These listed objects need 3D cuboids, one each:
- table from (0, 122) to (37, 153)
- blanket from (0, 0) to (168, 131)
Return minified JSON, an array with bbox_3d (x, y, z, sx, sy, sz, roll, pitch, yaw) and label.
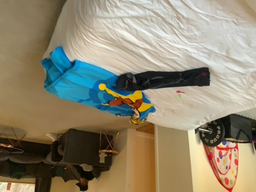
[{"bbox_3d":[-2.500,0.900,4.490,0.890,0.390,0.880,14,152,-24],"label":"table"},{"bbox_3d":[-0.270,-0.130,1.780,0.990,0.480,1.240,-6,154,18],"label":"blanket"}]
